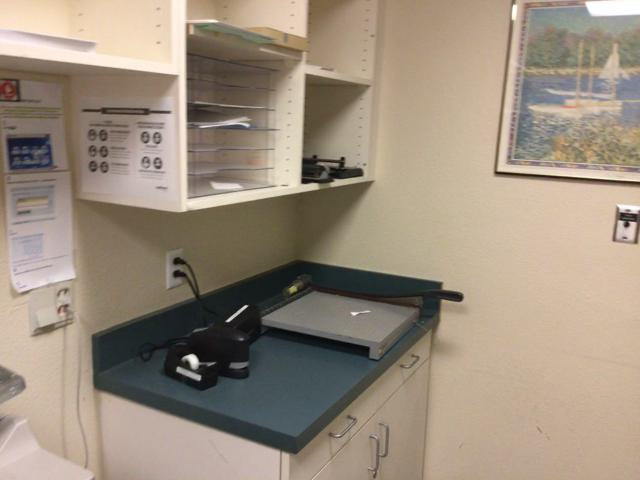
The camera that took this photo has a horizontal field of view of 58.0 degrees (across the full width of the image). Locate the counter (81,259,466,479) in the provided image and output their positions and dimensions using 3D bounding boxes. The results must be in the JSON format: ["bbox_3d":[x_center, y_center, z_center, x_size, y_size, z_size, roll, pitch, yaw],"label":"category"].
[{"bbox_3d":[-0.040,0.290,1.730,0.690,0.220,1.030,5,11,28],"label":"counter"}]

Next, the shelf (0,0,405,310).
[{"bbox_3d":[-0.670,-0.420,0.710,0.470,1.030,3.180,5,11,28],"label":"shelf"}]

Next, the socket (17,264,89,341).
[{"bbox_3d":[-0.610,0.140,1.330,0.020,0.140,0.160,5,11,28],"label":"socket"}]
